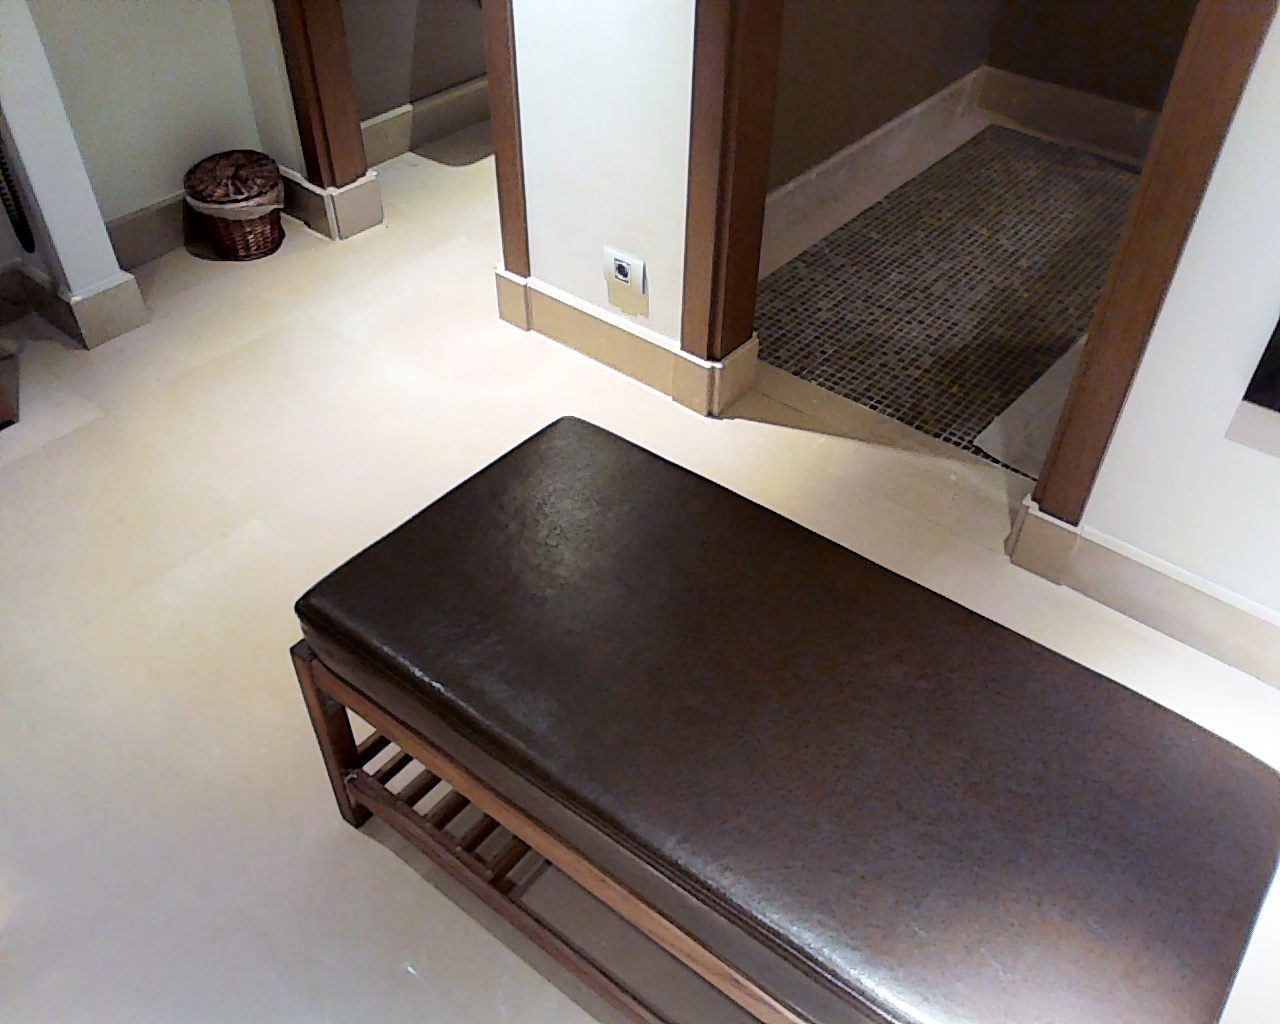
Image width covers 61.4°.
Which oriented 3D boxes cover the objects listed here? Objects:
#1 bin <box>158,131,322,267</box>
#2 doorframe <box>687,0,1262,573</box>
[{"bbox_3d":[-1.200,-0.950,3.250,0.310,0.230,0.300,29,49,27],"label":"bin"},{"bbox_3d":[0.540,-0.950,1.780,0.910,2.270,0.170,29,49,27],"label":"doorframe"}]
